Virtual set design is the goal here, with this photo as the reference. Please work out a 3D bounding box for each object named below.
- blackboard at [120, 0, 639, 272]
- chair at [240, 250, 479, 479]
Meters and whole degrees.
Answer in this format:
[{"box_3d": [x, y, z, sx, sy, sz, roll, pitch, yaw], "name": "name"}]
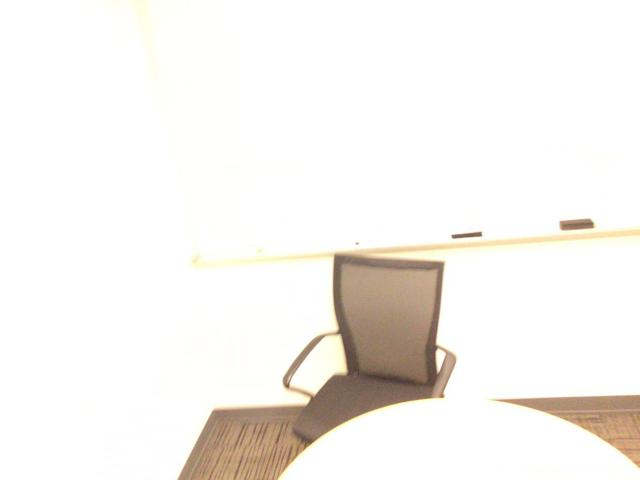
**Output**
[{"box_3d": [0.510, -0.510, 2.100, 2.460, 1.210, 0.130, -3, 19, 15], "name": "blackboard"}, {"box_3d": [0.200, 0.560, 2.150, 0.590, 0.850, 0.630, 2, 21, 29], "name": "chair"}]
